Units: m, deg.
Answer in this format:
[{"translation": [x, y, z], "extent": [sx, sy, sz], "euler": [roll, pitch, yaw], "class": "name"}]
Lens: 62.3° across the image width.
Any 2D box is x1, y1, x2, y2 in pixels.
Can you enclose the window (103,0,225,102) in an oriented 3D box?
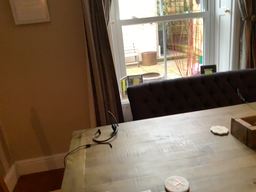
[{"translation": [0.410, -0.900, 2.450], "extent": [1.330, 1.790, 0.260], "euler": [-7, 18, -4], "class": "window"}]
